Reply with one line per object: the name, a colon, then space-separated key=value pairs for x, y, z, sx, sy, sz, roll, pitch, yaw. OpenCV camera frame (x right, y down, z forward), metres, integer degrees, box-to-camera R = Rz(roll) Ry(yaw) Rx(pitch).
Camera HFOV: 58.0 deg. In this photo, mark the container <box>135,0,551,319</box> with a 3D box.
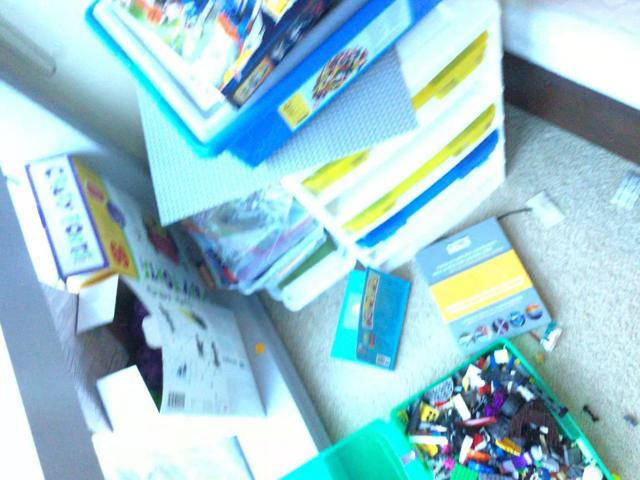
container: x=0.100 y=-0.200 z=1.080 sx=0.410 sy=0.460 sz=0.590 roll=45 pitch=4 yaw=26
